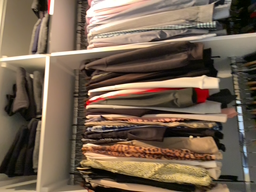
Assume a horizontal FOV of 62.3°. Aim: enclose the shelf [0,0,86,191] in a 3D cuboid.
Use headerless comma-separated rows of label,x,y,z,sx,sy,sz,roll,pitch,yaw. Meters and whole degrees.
shelf,-0.600,-0.560,1.580,0.490,0.390,2.380,40,-132,-74
